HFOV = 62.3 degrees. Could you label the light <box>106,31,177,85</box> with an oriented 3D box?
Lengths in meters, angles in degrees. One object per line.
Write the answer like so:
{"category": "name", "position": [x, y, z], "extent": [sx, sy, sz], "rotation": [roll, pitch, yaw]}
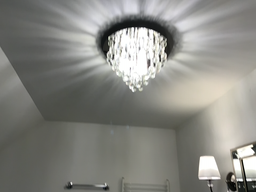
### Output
{"category": "light", "position": [0.080, -0.200, 1.200], "extent": [0.270, 0.260, 0.200], "rotation": [-10, -96, -55]}
